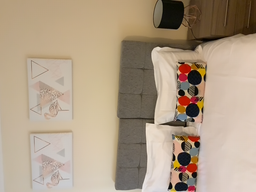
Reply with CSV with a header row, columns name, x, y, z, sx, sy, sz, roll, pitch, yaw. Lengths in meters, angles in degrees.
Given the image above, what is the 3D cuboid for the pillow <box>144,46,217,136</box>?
name,x,y,z,sx,sy,sz,roll,pitch,yaw
pillow,0.500,-0.060,2.110,0.210,0.600,0.820,-38,-48,-78

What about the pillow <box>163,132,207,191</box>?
name,x,y,z,sx,sy,sz,roll,pitch,yaw
pillow,0.550,0.690,2.090,0.220,0.330,0.610,-50,-36,-83

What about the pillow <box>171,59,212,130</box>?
name,x,y,z,sx,sy,sz,roll,pitch,yaw
pillow,0.580,-0.020,1.970,0.170,0.280,0.620,-65,-22,-82

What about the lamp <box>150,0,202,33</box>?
name,x,y,z,sx,sy,sz,roll,pitch,yaw
lamp,0.450,-0.770,2.030,0.250,0.400,0.260,-137,48,-75
